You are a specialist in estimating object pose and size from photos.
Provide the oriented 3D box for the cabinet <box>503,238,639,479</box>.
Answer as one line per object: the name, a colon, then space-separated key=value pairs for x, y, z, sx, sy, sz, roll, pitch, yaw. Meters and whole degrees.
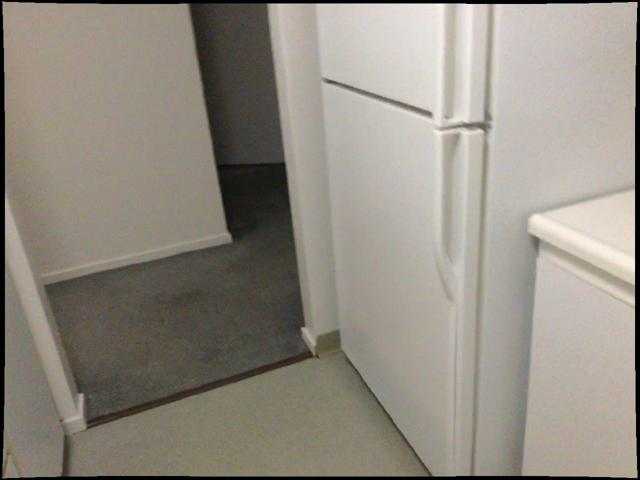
cabinet: x=0.559 y=0.421 z=1.280 sx=0.060 sy=0.782 sz=0.380 roll=-16 pitch=26 yaw=-18
